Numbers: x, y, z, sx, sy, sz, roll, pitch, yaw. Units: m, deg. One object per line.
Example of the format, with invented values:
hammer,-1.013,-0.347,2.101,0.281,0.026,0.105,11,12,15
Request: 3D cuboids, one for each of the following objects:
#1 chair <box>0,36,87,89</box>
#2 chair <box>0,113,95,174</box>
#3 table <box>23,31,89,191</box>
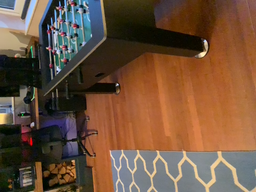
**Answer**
chair,-1.360,-0.440,3.290,0.690,1.250,0.640,-1,90,56
chair,-1.250,0.610,3.100,0.690,1.310,0.640,-7,85,56
table,-1.240,0.240,3.560,0.640,0.770,2.410,-17,76,55
